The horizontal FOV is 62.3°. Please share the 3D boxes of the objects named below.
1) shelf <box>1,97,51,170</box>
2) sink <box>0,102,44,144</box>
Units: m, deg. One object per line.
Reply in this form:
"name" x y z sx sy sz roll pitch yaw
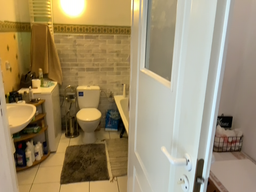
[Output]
"shelf" -1.180 0.430 2.520 0.380 0.750 0.370 -1 17 -9
"sink" -1.070 0.230 1.970 0.430 0.170 0.550 -1 17 -10
